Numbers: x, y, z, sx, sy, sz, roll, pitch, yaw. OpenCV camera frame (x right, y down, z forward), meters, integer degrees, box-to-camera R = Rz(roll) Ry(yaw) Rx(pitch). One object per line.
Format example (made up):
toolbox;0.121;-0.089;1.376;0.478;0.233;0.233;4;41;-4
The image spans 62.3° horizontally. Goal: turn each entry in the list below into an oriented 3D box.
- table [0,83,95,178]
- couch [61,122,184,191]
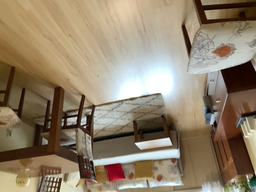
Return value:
table;-1.060;0.510;2.660;0.970;0.780;0.950;-12;151;12
couch;-0.060;1.260;4.110;2.050;0.880;1.040;-11;151;10
